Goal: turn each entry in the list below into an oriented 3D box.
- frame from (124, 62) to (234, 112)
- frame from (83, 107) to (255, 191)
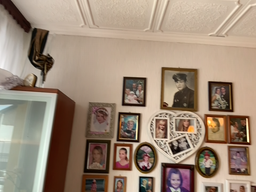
[{"bbox_3d":[0.390,-0.070,1.650,0.820,0.340,0.060,3,-12,1],"label":"frame"},{"bbox_3d":[0.430,0.470,1.540,1.440,0.670,0.140,4,-12,-2],"label":"frame"}]
